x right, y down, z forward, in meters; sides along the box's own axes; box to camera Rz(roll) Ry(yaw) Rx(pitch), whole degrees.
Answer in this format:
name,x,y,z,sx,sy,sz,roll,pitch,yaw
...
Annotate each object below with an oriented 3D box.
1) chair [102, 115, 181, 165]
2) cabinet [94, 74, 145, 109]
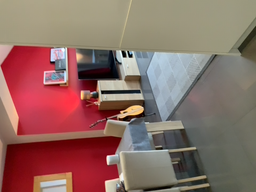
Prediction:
name,x,y,z,sx,sy,sz,roll,pitch,yaw
chair,0.170,0.610,3.040,0.390,0.970,0.520,112,152,-51
cabinet,-0.190,-0.090,4.270,0.340,0.900,0.600,115,149,-53
